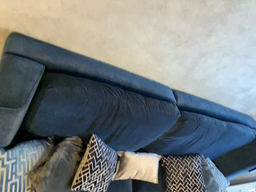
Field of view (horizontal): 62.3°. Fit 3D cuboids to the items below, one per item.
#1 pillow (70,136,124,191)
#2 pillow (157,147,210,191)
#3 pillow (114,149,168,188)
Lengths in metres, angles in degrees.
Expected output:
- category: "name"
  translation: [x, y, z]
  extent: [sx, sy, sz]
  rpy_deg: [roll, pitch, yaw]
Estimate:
- category: "pillow"
  translation: [-0.240, 0.540, 1.660]
  extent: [0.130, 0.320, 0.390]
  rpy_deg: [-39, 139, -4]
- category: "pillow"
  translation: [0.550, 0.770, 2.120]
  extent: [0.370, 0.340, 0.170]
  rpy_deg: [-29, 139, -9]
- category: "pillow"
  translation: [0.140, 0.660, 1.990]
  extent: [0.500, 0.260, 0.110]
  rpy_deg: [-3, 106, -53]
